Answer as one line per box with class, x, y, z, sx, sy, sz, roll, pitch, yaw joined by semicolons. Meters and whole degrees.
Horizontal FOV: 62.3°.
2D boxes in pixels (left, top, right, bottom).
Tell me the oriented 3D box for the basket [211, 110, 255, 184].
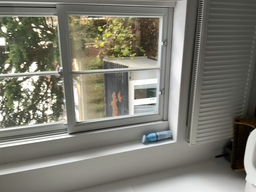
basket;0.890;0.360;1.580;0.240;0.400;0.410;-137;44;-63
